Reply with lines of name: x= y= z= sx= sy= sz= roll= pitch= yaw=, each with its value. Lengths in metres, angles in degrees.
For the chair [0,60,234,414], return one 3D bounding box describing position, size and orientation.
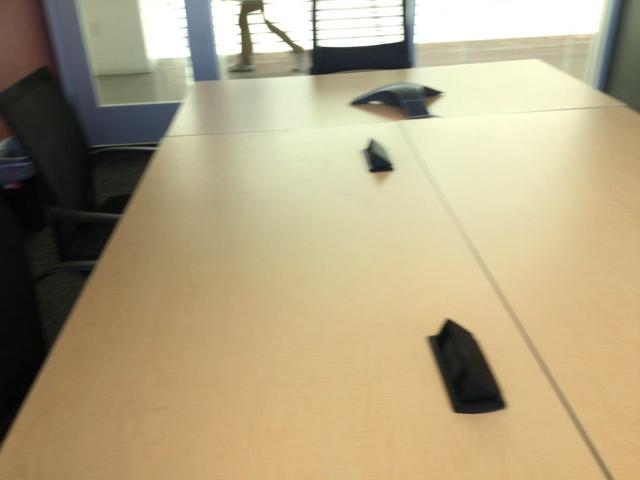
chair: x=-0.630 y=-0.020 z=1.830 sx=0.550 sy=0.930 sz=0.580 roll=-3 pitch=29 yaw=0
